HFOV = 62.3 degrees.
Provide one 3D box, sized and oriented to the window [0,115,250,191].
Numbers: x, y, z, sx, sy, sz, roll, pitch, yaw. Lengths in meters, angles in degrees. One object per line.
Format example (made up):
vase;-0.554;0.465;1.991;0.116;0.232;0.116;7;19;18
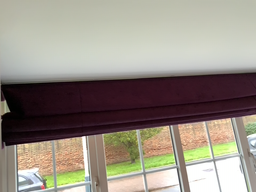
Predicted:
window;0.100;0.690;1.400;1.650;0.980;0.080;-4;-12;-16
